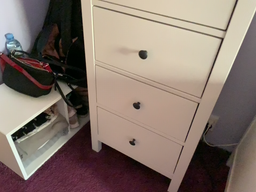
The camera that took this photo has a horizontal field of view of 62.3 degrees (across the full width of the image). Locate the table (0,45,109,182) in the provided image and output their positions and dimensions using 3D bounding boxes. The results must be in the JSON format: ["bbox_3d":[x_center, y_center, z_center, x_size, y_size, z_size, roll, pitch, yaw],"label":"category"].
[{"bbox_3d":[-0.450,0.040,1.250,0.330,0.350,0.730,22,42,20],"label":"table"}]
